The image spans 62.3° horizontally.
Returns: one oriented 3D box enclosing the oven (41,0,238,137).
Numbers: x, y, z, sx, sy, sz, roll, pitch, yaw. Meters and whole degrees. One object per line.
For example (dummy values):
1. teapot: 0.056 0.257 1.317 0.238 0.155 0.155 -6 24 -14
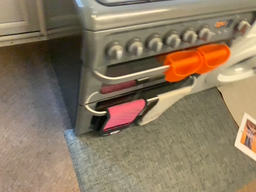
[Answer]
1. oven: -0.060 -0.270 1.090 0.590 0.700 0.660 -15 71 -22
